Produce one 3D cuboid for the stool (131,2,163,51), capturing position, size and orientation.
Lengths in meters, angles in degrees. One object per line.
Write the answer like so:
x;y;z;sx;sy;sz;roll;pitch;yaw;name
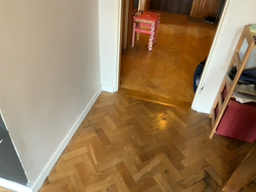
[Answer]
0.300;-1.100;3.310;0.330;0.490;0.700;12;39;8;stool
